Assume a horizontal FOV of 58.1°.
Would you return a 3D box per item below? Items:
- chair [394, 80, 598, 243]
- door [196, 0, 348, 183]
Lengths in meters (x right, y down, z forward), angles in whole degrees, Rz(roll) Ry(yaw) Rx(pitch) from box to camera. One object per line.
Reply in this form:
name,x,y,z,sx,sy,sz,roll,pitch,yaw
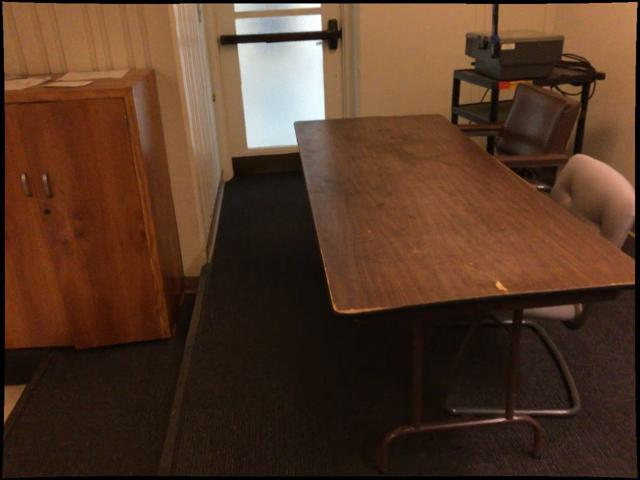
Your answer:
chair,0.778,-0.411,2.780,0.668,0.561,0.690,-3,27,-6
door,-0.319,-1.464,3.940,0.997,2.154,0.200,-3,26,-6
